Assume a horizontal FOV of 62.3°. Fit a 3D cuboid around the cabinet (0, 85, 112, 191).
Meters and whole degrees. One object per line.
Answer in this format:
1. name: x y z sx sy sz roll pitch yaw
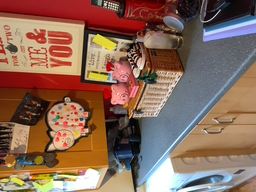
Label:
1. cabinet: -0.730 0.340 1.580 0.580 1.080 0.600 111 155 -49
